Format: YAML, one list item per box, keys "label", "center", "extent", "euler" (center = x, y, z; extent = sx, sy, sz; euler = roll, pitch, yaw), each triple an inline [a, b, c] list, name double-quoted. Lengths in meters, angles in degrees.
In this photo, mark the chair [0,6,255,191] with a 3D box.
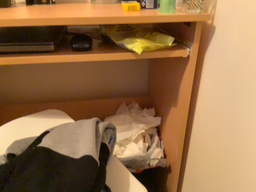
- label: "chair"
  center: [-0.230, 0.240, 0.470]
  extent: [0.650, 0.750, 0.660]
  euler: [-14, 30, -27]
